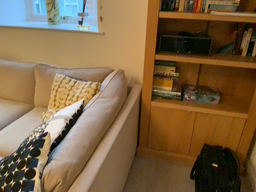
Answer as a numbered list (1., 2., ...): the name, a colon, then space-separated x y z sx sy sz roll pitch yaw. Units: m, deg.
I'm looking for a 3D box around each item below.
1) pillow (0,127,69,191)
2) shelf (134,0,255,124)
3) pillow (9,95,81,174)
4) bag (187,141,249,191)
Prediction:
1. pillow: -0.530 0.360 0.960 0.460 0.220 0.410 -2 26 -9
2. shelf: 0.550 -0.600 1.480 0.890 1.500 0.340 8 26 11
3. pillow: -0.450 0.200 1.270 0.270 0.240 0.460 0 26 -5
4. bag: 0.620 0.600 1.550 0.310 0.290 0.410 8 26 11
